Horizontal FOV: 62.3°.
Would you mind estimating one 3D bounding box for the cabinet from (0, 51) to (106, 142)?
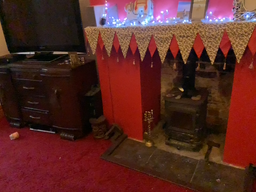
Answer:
[{"bbox_3d":[-1.090,-0.070,2.790,1.390,0.900,0.580,7,26,24],"label":"cabinet"}]

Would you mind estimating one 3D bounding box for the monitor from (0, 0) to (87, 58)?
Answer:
[{"bbox_3d":[-1.080,-0.870,2.500,1.220,0.800,0.080,6,25,23],"label":"monitor"}]
